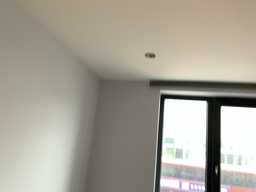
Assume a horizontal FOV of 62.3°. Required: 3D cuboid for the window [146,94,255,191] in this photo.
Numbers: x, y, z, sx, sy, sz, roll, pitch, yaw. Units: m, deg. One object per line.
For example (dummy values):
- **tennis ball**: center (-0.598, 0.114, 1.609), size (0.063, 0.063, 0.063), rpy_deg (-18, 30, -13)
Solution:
- **window**: center (0.770, 0.730, 2.220), size (1.090, 1.470, 0.180), rpy_deg (2, -13, 15)
